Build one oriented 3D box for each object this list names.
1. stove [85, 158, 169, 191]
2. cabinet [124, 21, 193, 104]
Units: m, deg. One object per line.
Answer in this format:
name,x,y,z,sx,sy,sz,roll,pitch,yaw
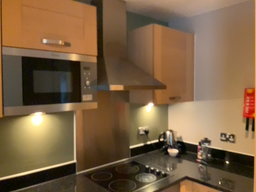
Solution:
stove,-0.010,0.650,1.790,0.520,0.020,0.490,-2,3,-43
cabinet,0.340,-0.310,2.260,0.650,0.740,0.400,-2,3,-43
